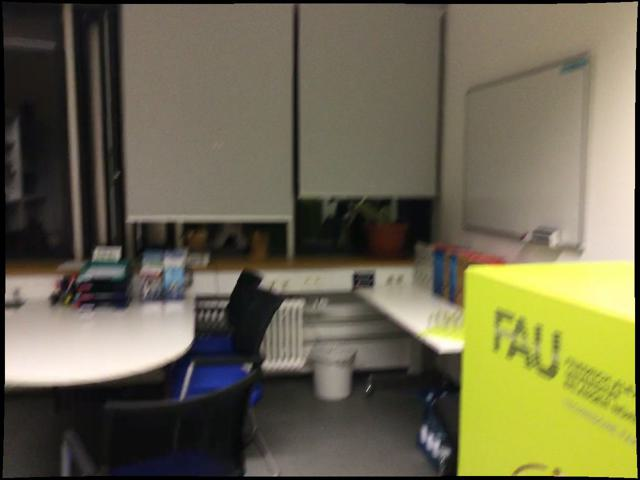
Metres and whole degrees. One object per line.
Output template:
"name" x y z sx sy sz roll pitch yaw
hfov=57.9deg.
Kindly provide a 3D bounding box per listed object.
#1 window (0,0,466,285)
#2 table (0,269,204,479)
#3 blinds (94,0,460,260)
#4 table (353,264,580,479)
"window" -1.299 -0.691 3.780 4.436 1.762 0.790 -2 9 -13
"table" -1.159 0.691 2.940 1.049 0.751 1.510 -2 9 -13
"blinds" -0.250 -0.771 4.040 2.338 1.652 0.540 -2 9 -13
"table" 0.719 0.671 3.350 0.679 0.781 1.410 -2 9 -13
